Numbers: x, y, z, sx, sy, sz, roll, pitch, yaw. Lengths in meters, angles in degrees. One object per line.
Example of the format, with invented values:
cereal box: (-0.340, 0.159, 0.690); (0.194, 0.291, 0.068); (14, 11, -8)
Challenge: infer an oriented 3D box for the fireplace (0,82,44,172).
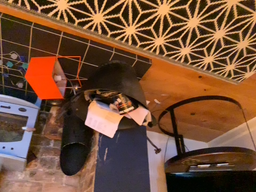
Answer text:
fireplace: (-0.870, 0.200, 1.450); (0.430, 0.530, 0.240); (13, 143, -21)
